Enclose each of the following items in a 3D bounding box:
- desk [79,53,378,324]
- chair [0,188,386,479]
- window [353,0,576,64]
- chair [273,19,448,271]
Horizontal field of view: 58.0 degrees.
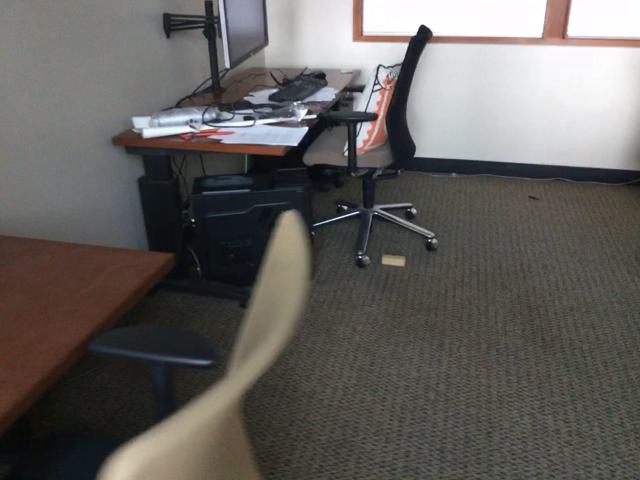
[{"bbox_3d":[-0.260,-0.370,2.830,0.800,0.850,1.530,1,23,16],"label":"desk"},{"bbox_3d":[-0.270,0.490,0.840,0.620,0.960,0.680,1,23,16],"label":"chair"},{"bbox_3d":[0.740,-1.650,3.050,1.160,1.290,0.180,1,23,16],"label":"window"},{"bbox_3d":[0.250,-0.460,2.720,0.650,1.010,0.650,1,23,16],"label":"chair"}]
